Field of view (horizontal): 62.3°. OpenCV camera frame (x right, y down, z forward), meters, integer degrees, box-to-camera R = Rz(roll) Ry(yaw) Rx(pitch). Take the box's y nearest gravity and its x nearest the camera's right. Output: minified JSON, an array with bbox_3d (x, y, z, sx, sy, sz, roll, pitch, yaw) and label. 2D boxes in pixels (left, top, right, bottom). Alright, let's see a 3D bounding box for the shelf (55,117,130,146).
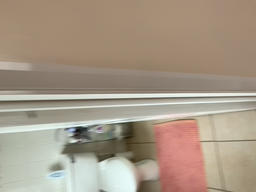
[{"bbox_3d":[-0.370,0.380,2.320,0.200,0.770,0.220,-23,71,56],"label":"shelf"}]
